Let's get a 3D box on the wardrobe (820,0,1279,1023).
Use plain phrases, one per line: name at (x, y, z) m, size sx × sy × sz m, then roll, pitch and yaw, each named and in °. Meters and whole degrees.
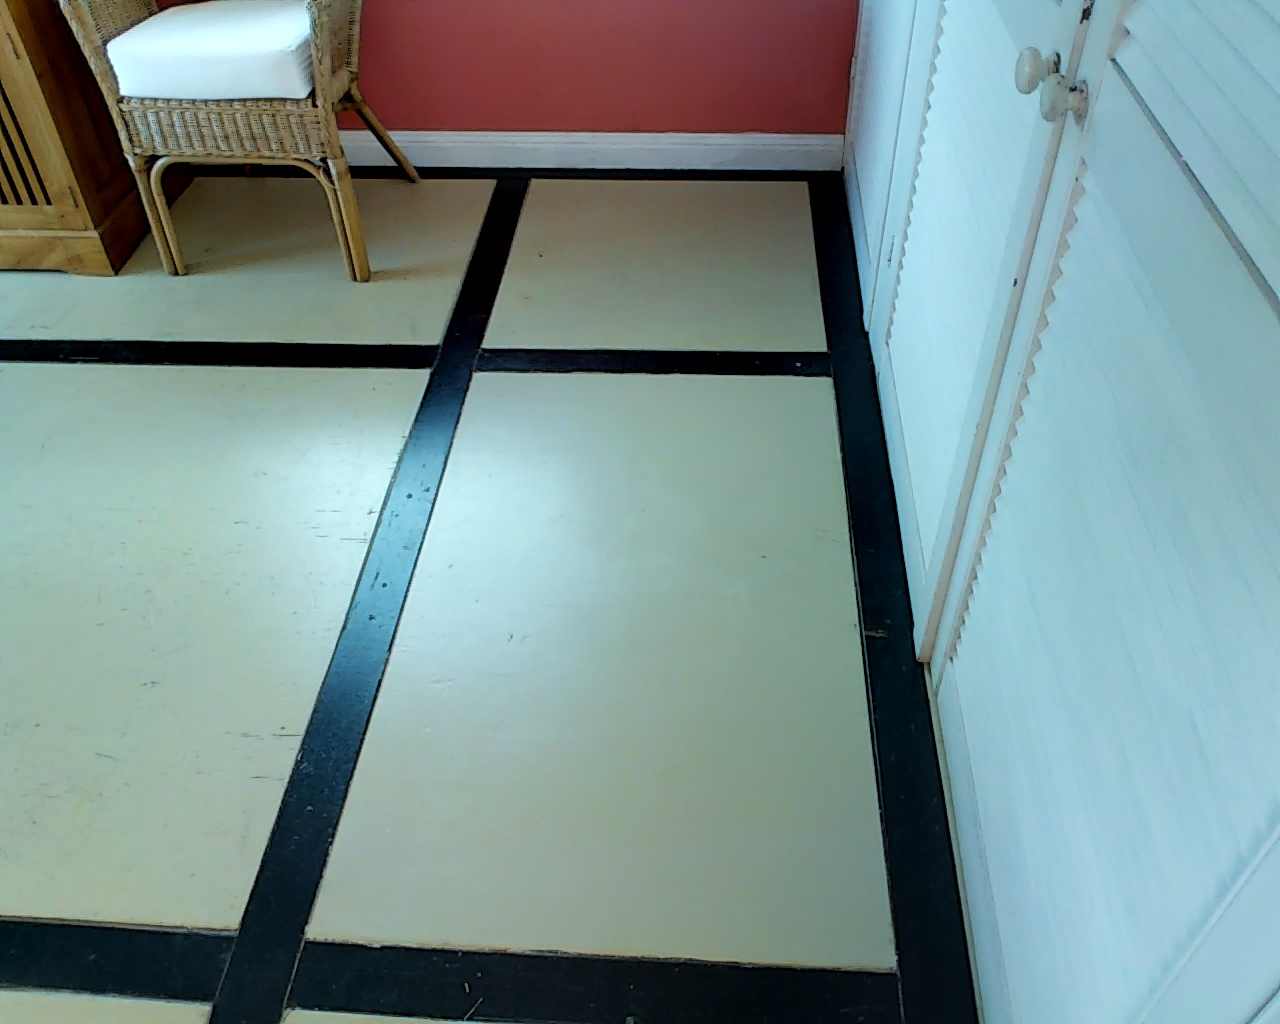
wardrobe at (0.420, -0.880, 1.200) m, size 0.100 × 2.250 × 2.460 m, roll 2°, pitch 43°, yaw 4°
